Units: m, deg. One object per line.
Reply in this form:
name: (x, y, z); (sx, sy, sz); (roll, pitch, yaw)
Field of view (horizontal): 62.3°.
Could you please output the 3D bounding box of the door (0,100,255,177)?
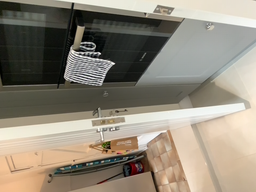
door: (-0.260, 0.230, 1.210); (0.730, 2.080, 0.160); (-21, 74, 63)
